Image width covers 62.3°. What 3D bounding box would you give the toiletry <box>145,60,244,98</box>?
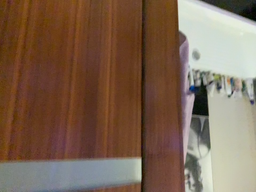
[{"bbox_3d":[0.710,-0.140,2.130,1.180,0.170,0.150,8,166,-27],"label":"toiletry"}]
